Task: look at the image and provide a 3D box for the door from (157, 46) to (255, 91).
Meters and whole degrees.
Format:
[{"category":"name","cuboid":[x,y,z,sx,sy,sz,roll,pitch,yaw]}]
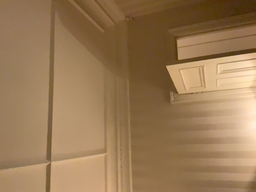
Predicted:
[{"category":"door","cuboid":[1.460,-0.320,2.220,0.830,2.160,0.060,39,-131,-63]}]
